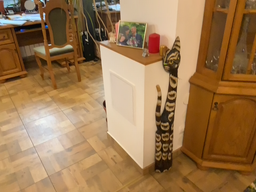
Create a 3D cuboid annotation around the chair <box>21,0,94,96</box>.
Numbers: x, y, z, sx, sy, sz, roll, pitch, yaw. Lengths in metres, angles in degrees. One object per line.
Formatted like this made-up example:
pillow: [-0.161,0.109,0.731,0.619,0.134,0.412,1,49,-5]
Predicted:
chair: [-0.920,-0.730,2.810,0.540,1.150,0.730,-20,35,-29]
